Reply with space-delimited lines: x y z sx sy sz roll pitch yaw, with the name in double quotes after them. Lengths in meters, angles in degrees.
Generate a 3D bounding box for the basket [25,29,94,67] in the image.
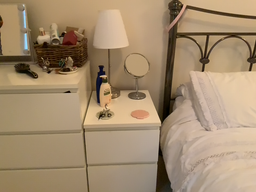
-0.400 -0.310 1.320 0.330 0.180 0.280 -1 23 -3 "basket"
